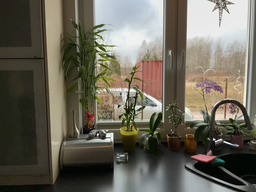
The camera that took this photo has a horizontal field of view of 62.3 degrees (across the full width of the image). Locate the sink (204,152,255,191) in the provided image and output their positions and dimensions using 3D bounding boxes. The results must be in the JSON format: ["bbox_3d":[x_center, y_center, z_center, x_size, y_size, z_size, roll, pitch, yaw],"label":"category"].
[{"bbox_3d":[0.780,0.520,1.380,0.390,0.140,0.460,-1,6,-3],"label":"sink"}]
